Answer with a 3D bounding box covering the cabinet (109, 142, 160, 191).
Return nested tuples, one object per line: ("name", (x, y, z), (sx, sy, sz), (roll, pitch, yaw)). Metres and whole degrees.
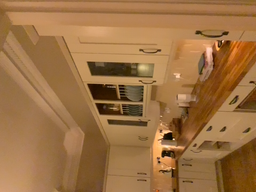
("cabinet", (0.150, 1.640, 4.500), (0.340, 1.010, 1.170), (91, -177, -62))
